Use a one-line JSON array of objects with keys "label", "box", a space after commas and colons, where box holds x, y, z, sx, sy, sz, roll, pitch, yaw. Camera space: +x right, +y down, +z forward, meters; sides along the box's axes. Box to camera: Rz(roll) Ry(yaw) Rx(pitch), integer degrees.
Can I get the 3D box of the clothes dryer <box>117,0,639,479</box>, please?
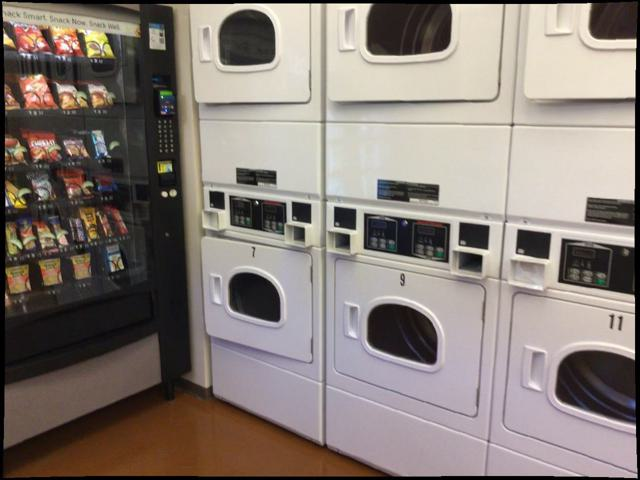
[{"label": "clothes dryer", "box": [0.619, -0.160, 2.110, 3.098, 2.062, 0.910, 10, 17, 37]}]
